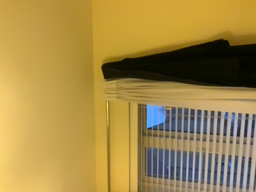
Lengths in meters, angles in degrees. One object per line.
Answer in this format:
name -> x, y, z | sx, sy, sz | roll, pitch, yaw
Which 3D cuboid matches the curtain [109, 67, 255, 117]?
curtain -> 0.930, -0.030, 1.300 | 0.200, 2.140, 0.290 | -29, -61, -73
